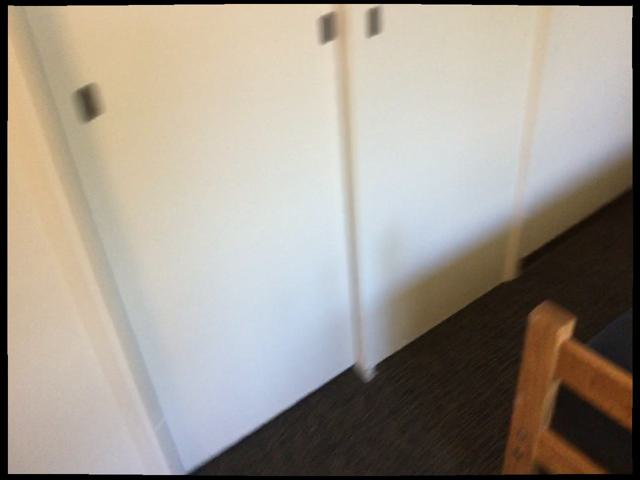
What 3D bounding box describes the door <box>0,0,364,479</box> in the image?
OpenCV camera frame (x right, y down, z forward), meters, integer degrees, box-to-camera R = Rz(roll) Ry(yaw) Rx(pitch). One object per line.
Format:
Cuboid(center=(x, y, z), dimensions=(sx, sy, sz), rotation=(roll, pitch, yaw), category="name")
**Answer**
Cuboid(center=(-0.230, -0.291, 1.060), dimensions=(0.589, 2.032, 0.110), rotation=(-28, 41, -26), category="door")
